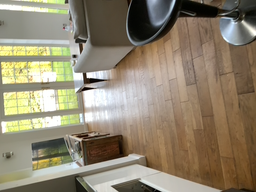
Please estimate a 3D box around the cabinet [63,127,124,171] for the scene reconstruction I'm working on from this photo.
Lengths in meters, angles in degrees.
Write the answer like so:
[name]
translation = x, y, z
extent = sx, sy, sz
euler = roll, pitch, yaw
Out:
[cabinet]
translation = -0.770, 0.930, 4.130
extent = 1.800, 0.660, 0.570
euler = 162, 101, -64
